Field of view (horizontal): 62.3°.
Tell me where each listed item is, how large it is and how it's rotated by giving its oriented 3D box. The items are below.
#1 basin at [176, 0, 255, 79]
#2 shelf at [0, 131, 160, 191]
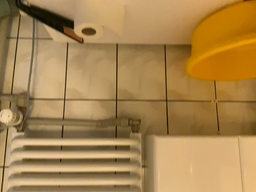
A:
[{"bbox_3d":[0.400,-0.190,0.710,0.370,0.160,0.390,1,170,-4],"label":"basin"},{"bbox_3d":[-0.170,0.530,0.660,0.530,0.820,0.100,1,170,-4],"label":"shelf"}]
